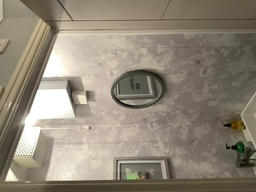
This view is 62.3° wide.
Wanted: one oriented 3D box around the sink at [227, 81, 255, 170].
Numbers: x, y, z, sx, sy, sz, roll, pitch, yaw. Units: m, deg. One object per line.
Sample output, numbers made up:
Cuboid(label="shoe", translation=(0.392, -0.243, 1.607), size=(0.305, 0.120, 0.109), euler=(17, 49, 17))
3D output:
Cuboid(label="sink", translation=(0.820, 0.190, 1.330), size=(0.400, 0.130, 0.400), euler=(90, 178, -51))
